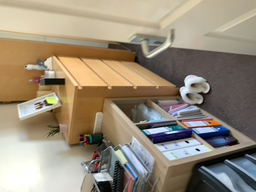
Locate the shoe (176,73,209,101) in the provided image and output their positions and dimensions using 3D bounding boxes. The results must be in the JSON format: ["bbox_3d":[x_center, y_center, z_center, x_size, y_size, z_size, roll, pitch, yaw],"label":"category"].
[{"bbox_3d":[0.530,-0.080,1.780,0.260,0.070,0.180,28,115,55],"label":"shoe"}]

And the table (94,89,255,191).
[{"bbox_3d":[0.290,0.330,1.530,0.850,0.760,0.440,41,126,50],"label":"table"}]

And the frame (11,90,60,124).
[{"bbox_3d":[-0.790,0.080,1.800,0.280,0.320,0.130,29,128,52],"label":"frame"}]
